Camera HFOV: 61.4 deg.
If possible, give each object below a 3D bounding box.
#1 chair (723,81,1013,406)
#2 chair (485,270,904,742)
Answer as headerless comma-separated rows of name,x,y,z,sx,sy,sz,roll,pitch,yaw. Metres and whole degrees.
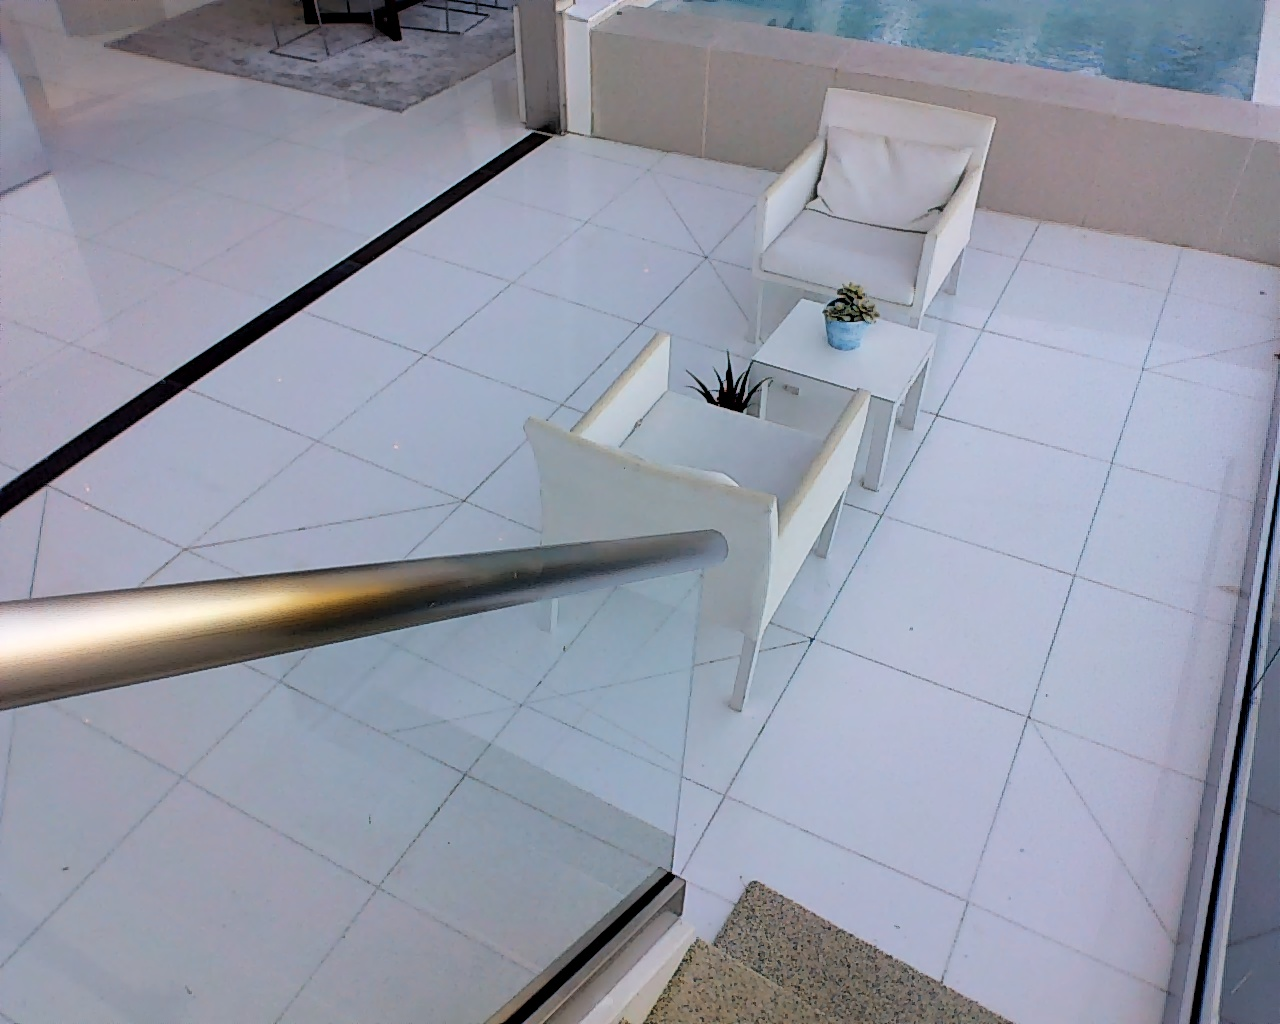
chair,0.850,-1.040,4.090,0.750,0.780,0.820,19,45,19
chair,0.160,-0.050,2.970,0.770,0.760,0.830,20,45,20
